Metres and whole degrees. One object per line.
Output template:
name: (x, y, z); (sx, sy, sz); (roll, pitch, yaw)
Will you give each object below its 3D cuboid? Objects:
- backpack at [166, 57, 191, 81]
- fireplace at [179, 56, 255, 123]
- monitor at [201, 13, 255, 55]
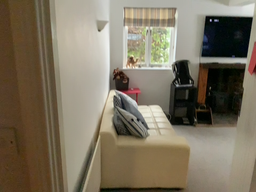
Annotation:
backpack: (0.980, -0.530, 4.180); (0.390, 0.430, 0.280); (1, 15, 0)
fireplace: (1.950, -0.190, 4.470); (1.410, 1.170, 1.100); (1, 15, 0)
monitor: (2.040, -1.200, 4.130); (1.140, 0.770, 0.060); (1, 16, 2)
